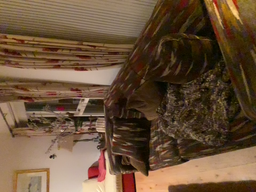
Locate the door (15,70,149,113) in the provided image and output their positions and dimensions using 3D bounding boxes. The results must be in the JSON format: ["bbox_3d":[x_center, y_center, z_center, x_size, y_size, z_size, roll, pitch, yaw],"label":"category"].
[{"bbox_3d":[-0.830,0.020,3.740,1.600,1.900,0.080,133,134,-60],"label":"door"}]
